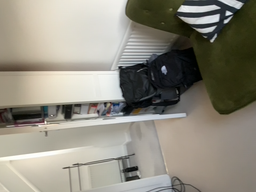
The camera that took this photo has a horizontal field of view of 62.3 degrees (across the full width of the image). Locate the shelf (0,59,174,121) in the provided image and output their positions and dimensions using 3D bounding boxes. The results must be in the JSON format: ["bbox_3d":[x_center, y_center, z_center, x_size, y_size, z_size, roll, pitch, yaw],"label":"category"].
[{"bbox_3d":[-0.550,-0.070,2.260,0.530,1.990,0.420,130,133,-62],"label":"shelf"}]
